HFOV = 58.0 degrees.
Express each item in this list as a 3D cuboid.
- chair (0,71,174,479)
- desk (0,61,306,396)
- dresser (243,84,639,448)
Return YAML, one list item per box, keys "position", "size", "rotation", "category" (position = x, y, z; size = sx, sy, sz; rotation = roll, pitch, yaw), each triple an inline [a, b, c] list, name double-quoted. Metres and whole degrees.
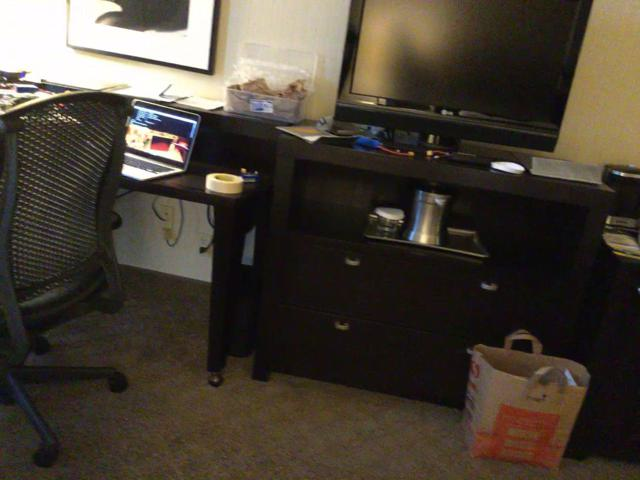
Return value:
- position: [-0.930, 0.080, 1.730]
  size: [0.650, 1.050, 0.670]
  rotation: [16, 22, 24]
  category: "chair"
- position: [-0.880, -0.120, 2.360]
  size: [1.440, 1.000, 0.690]
  rotation: [9, 20, 8]
  category: "desk"
- position: [0.390, 0.050, 2.220]
  size: [1.180, 1.090, 0.560]
  rotation: [9, 20, 8]
  category: "dresser"
